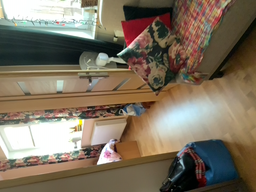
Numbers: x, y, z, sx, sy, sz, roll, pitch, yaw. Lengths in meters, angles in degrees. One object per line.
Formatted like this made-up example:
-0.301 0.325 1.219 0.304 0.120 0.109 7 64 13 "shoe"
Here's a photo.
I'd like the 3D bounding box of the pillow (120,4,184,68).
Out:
0.170 -0.480 1.700 0.250 0.330 0.450 112 148 -51 "pillow"
